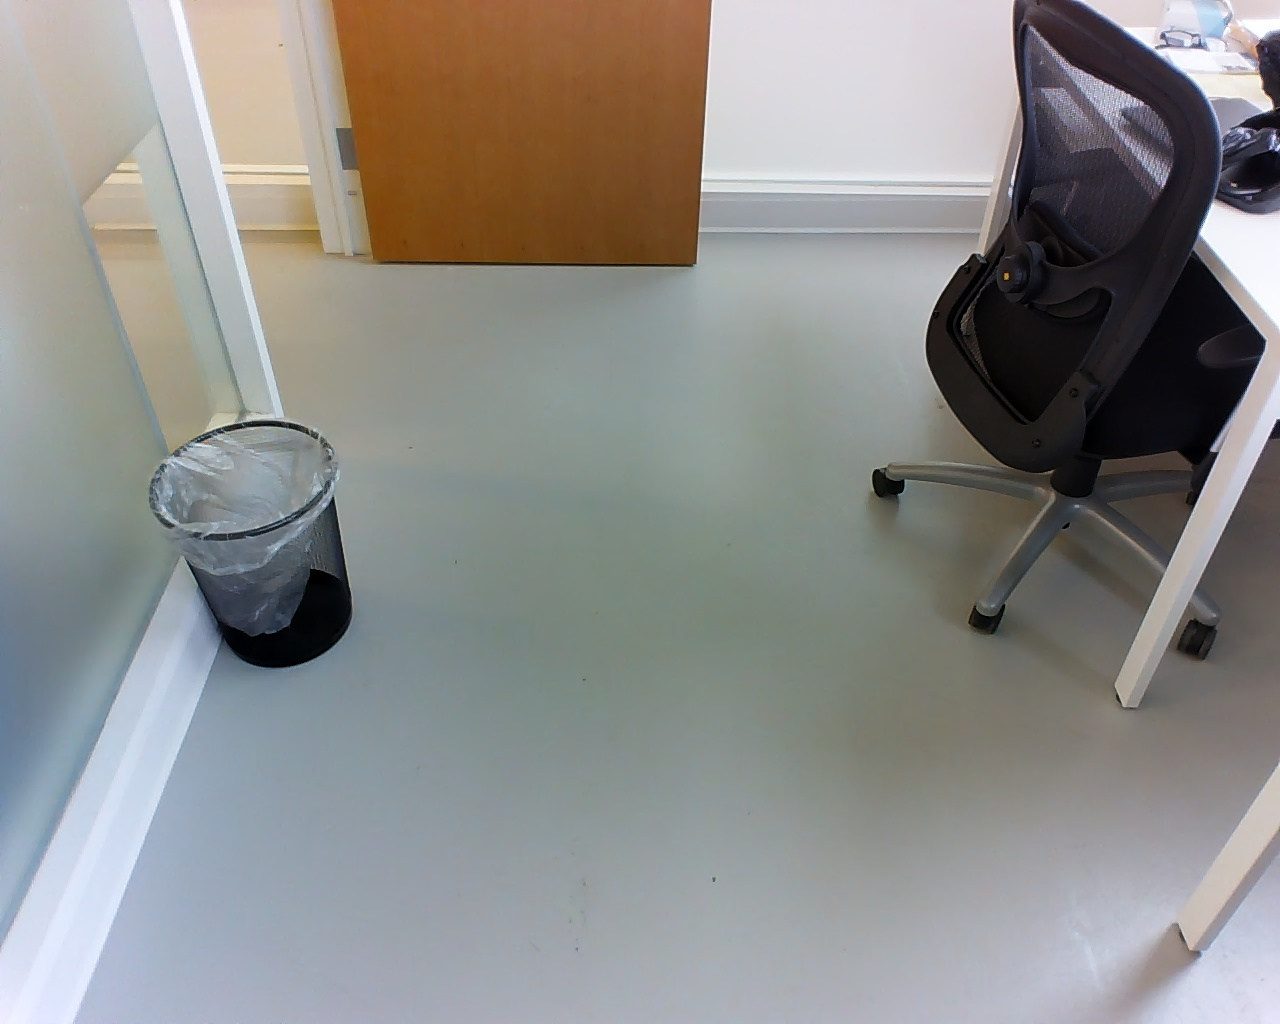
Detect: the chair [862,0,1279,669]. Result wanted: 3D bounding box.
[{"bbox_3d":[0.840,-0.400,1.870,0.580,1.040,0.830,-3,42,-3],"label":"chair"}]
